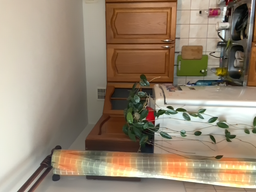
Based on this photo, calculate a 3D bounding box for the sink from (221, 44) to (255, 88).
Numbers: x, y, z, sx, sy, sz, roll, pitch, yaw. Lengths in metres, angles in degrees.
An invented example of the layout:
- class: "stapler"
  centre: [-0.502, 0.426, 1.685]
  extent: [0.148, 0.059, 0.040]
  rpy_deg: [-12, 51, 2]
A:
- class: "sink"
  centre: [1.140, -0.320, 2.170]
  extent: [0.490, 0.160, 0.400]
  rpy_deg: [-72, -17, -78]
